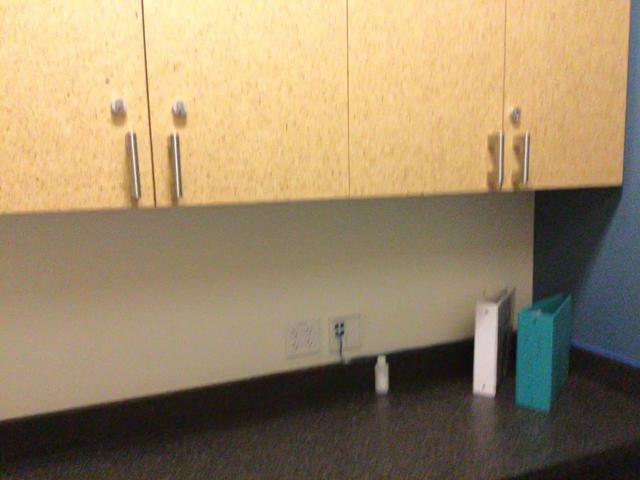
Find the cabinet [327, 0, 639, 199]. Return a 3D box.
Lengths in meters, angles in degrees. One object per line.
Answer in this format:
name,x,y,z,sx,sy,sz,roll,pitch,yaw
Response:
cabinet,0.460,-0.430,1.500,0.910,0.620,0.100,-3,7,-21
